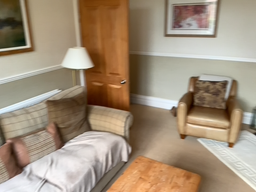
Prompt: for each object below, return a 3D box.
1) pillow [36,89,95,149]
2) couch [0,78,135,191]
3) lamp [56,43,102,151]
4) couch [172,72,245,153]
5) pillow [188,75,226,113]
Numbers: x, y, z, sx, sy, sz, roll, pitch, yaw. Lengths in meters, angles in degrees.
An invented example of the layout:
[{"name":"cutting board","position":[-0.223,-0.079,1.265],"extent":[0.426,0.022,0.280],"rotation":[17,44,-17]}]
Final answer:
[{"name":"pillow","position":[-0.680,0.240,2.400],"extent":[0.240,0.510,0.490],"rotation":[-1,17,34]},{"name":"couch","position":[-1.010,0.620,1.910],"extent":[1.240,0.890,2.360],"rotation":[10,22,26]},{"name":"lamp","position":[-0.640,0.020,2.910],"extent":[0.370,1.400,0.330],"rotation":[10,22,26]},{"name":"couch","position":[1.250,0.160,3.320],"extent":[0.830,0.780,1.090],"rotation":[8,22,22]},{"name":"pillow","position":[1.250,-0.030,3.360],"extent":[0.420,0.440,0.220],"rotation":[-22,5,29]}]
